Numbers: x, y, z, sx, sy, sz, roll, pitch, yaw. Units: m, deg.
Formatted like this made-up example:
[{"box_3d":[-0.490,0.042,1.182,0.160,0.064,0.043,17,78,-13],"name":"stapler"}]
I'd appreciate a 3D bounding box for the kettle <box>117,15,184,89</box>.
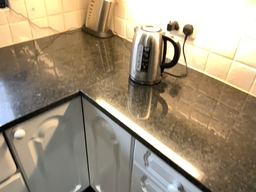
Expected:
[{"box_3d":[0.090,-0.200,0.930,0.190,0.220,0.190,32,45,31],"name":"kettle"}]
